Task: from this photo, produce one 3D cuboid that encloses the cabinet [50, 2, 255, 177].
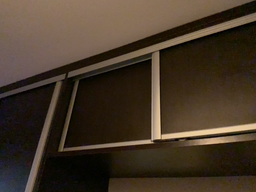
[{"bbox_3d":[0.230,0.060,0.950,0.960,0.480,0.480,-12,-34,27],"label":"cabinet"}]
